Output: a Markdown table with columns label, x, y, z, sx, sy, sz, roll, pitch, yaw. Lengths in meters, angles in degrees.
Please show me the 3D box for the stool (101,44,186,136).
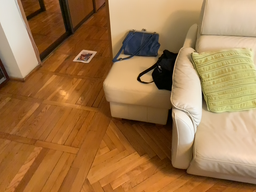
| label | x | y | z | sx | sy | sz | roll | pitch | yaw |
| --- | --- | --- | --- | --- | --- | --- | --- | --- | --- |
| stool | 0.160 | -0.080 | 1.830 | 0.580 | 0.440 | 0.600 | 8 | 42 | 11 |
